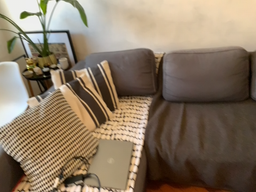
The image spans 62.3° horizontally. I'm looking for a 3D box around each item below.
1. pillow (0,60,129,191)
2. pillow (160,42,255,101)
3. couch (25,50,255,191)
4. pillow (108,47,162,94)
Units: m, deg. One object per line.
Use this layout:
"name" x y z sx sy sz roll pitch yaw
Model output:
"pillow" -0.410 0.140 1.560 0.500 0.400 1.090 5 33 18
"pillow" 0.610 -0.190 1.730 0.640 0.430 0.260 3 64 15
"couch" 0.600 0.130 1.800 2.390 0.670 1.110 3 33 15
"pillow" 0.080 -0.220 1.870 0.390 0.360 0.230 4 59 15
